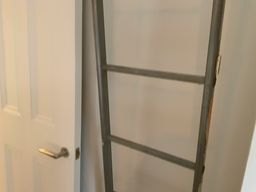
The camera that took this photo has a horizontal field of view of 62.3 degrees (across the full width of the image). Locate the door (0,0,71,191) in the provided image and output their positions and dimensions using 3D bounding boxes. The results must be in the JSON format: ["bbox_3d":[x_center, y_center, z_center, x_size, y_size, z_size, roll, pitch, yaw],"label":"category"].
[{"bbox_3d":[-0.630,0.080,1.210,0.860,2.070,0.030,12,16,32],"label":"door"}]
